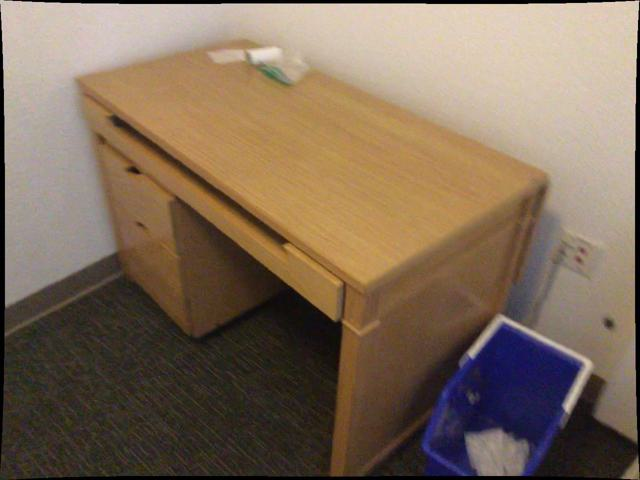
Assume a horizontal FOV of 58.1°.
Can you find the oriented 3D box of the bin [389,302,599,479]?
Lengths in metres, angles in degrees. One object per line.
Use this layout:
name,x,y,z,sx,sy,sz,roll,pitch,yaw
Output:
bin,0.439,0.471,1.480,0.300,0.340,0.450,27,43,28
